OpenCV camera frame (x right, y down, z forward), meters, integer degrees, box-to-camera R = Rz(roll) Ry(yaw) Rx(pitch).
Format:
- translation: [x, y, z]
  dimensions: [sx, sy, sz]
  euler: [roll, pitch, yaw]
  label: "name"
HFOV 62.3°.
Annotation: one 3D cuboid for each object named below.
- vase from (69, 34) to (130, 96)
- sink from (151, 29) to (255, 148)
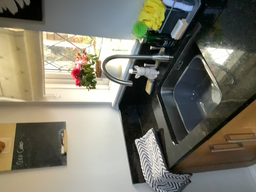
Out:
- translation: [-0.210, -0.200, 1.420]
  dimensions: [0.250, 0.340, 0.300]
  euler: [114, 150, -50]
  label: "vase"
- translation: [0.350, -0.020, 1.080]
  dimensions: [0.450, 0.230, 0.390]
  euler: [114, 150, -50]
  label: "sink"
